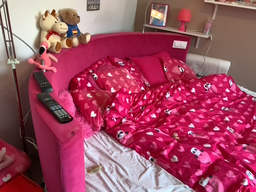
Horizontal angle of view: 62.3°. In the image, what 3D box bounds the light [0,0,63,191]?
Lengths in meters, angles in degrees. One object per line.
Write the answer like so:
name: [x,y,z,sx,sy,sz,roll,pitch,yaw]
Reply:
light: [-0.640,-0.100,1.160,0.430,1.750,0.260,19,30,21]
